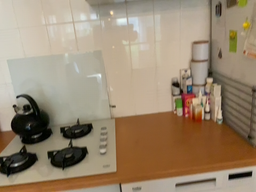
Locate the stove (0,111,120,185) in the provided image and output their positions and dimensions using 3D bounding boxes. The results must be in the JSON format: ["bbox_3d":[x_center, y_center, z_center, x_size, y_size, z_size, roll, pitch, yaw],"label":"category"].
[{"bbox_3d":[-0.350,0.230,1.100,0.600,0.040,0.550,-6,18,-2],"label":"stove"}]
